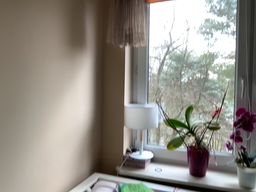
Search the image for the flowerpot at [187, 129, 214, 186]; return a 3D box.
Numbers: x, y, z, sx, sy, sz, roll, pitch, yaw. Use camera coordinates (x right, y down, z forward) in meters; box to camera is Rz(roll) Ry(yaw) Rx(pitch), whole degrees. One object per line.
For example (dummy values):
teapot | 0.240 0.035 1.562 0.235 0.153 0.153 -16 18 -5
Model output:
flowerpot | 0.480 0.400 1.410 0.150 0.320 0.130 2 3 18
